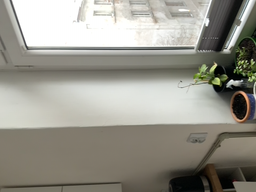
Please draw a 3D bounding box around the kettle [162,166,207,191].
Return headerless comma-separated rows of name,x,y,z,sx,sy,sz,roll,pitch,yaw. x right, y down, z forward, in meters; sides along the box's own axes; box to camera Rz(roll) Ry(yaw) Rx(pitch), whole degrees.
kettle,0.360,0.570,1.390,0.170,0.220,0.150,96,171,-50
